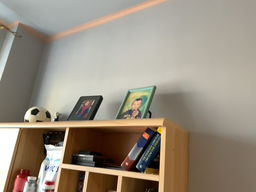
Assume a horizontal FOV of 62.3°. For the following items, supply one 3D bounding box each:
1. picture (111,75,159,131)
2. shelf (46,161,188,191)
[{"bbox_3d":[0.040,0.040,1.000,0.150,0.220,0.150,-5,-21,33],"label":"picture"},{"bbox_3d":[-0.050,0.390,0.830,0.490,0.200,0.260,-5,-21,32],"label":"shelf"}]
